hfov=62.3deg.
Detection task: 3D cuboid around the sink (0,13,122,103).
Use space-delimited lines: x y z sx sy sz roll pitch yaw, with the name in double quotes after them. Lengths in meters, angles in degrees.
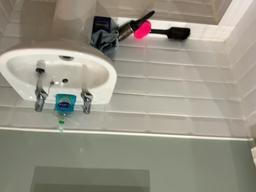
-0.270 -0.130 0.880 0.460 0.160 0.350 3 152 -5 "sink"
